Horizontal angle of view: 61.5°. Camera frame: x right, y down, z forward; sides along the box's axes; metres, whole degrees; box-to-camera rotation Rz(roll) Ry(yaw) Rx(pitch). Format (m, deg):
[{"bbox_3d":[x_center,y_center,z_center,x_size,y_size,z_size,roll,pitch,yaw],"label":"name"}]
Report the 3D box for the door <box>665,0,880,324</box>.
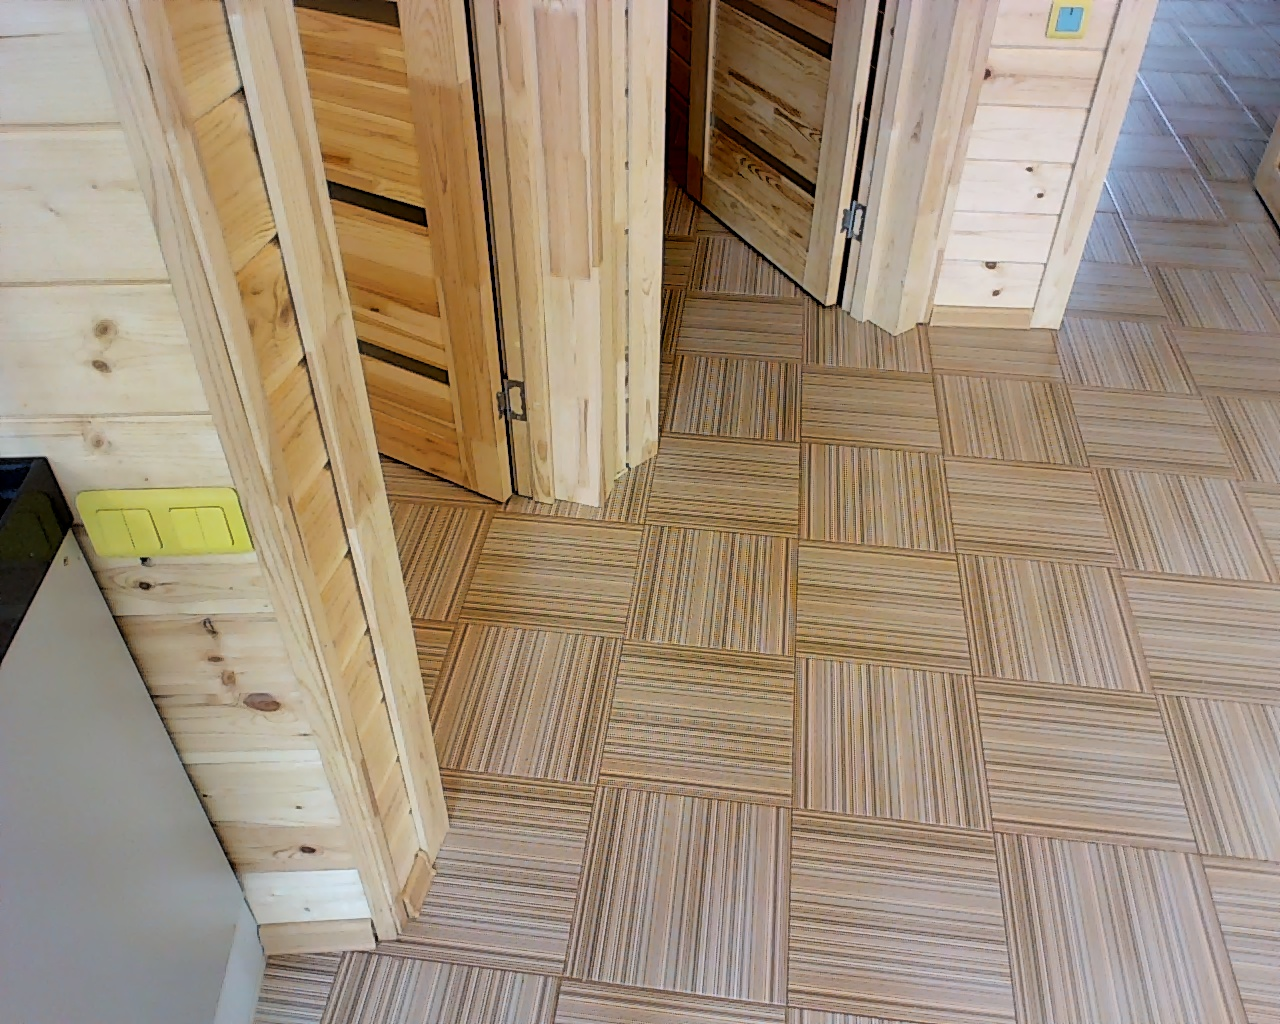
[{"bbox_3d":[0.320,-1.550,2.570,0.100,2.070,0.820,-18,45,-20],"label":"door"}]
